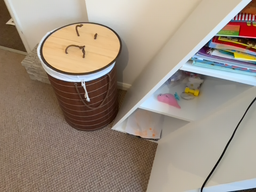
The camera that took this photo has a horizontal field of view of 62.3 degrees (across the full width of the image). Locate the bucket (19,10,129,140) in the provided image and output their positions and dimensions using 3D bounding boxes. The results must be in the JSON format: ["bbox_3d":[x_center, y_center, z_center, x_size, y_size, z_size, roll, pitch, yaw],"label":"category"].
[{"bbox_3d":[-0.230,-0.100,1.180,0.350,0.520,0.400,17,54,12],"label":"bucket"}]
